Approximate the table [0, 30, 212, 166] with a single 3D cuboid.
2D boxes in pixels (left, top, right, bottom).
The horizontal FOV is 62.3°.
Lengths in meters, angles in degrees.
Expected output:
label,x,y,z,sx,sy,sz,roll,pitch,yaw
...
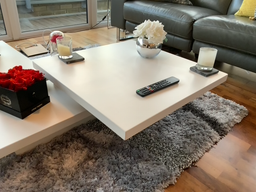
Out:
label,x,y,z,sx,sy,sz,roll,pitch,yaw
table,-0.490,-0.100,1.200,1.620,0.280,0.820,5,31,2
